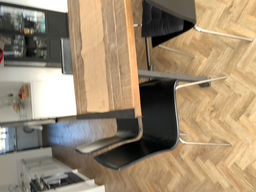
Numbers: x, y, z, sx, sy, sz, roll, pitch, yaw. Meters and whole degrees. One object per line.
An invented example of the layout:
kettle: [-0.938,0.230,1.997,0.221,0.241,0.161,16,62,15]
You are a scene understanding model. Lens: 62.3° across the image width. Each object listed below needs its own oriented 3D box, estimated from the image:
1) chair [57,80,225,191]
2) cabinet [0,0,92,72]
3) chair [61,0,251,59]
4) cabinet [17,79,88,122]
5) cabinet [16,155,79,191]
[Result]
chair: [0.090,0.220,1.520,0.580,1.000,0.550,-16,79,57]
cabinet: [-1.480,-0.910,3.380,0.380,1.700,0.940,-14,80,58]
chair: [0.160,-0.620,1.340,0.570,1.000,0.550,-20,75,57]
cabinet: [-1.680,0.160,4.420,1.970,1.000,0.660,-13,80,59]
cabinet: [-2.150,2.030,5.330,2.590,0.990,0.610,-13,81,58]
